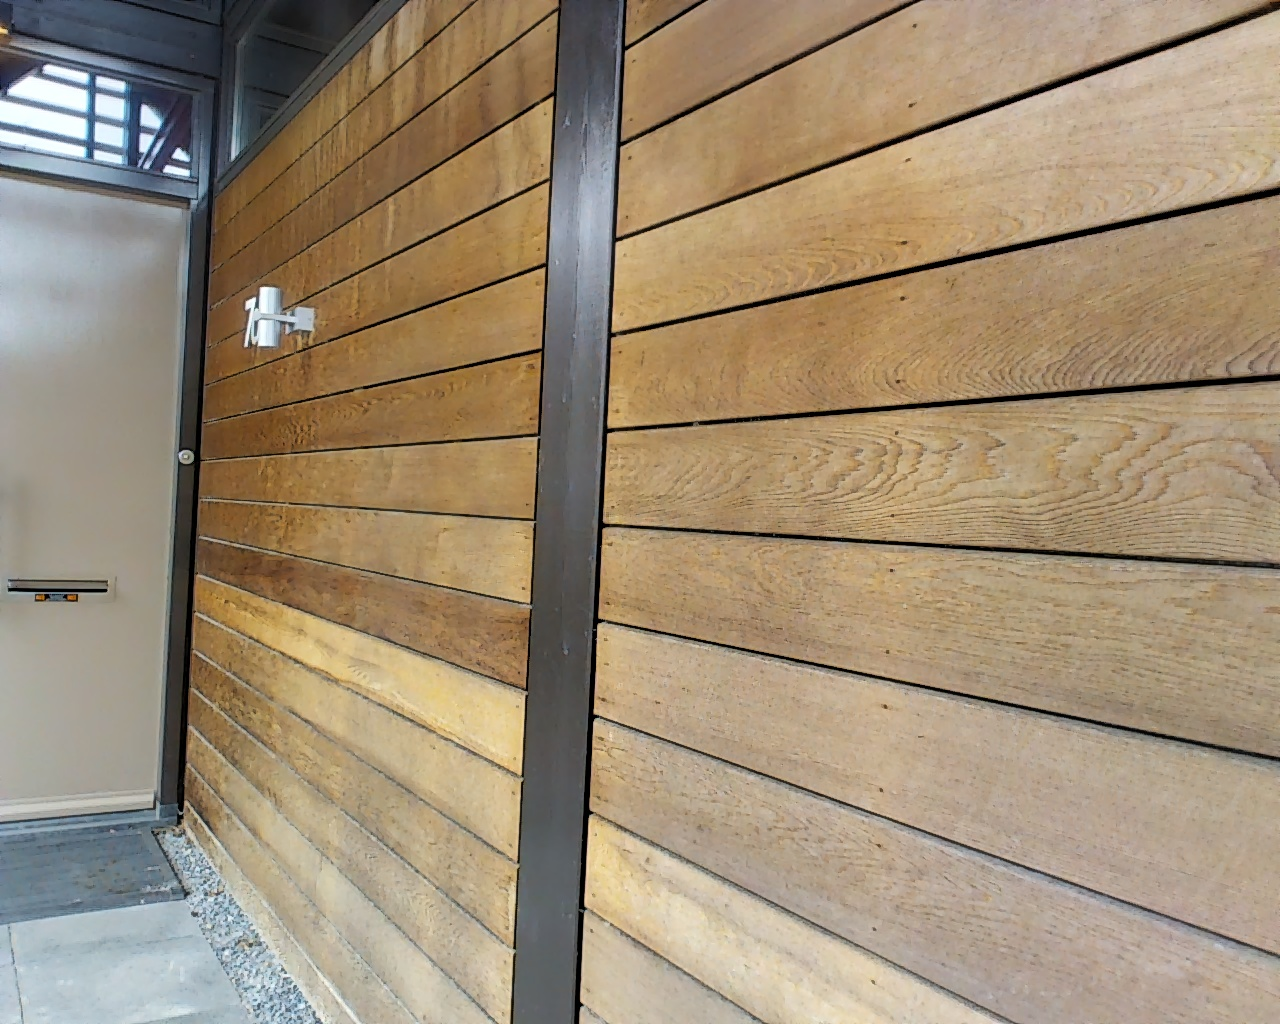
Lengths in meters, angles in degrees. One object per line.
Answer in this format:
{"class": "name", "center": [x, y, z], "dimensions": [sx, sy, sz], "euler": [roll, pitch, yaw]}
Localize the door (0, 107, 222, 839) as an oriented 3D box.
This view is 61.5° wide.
{"class": "door", "center": [-2.140, -0.120, 3.960], "dimensions": [1.000, 2.580, 0.150], "euler": [3, 0, -33]}
